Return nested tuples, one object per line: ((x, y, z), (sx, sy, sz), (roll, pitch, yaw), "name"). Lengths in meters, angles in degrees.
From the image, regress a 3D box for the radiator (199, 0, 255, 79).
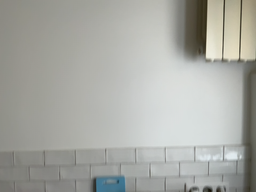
((0.560, -0.410, 1.020), (0.380, 0.650, 0.140), (0, 3, -2), "radiator")
